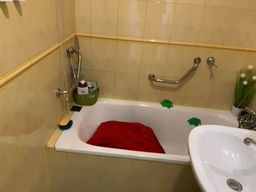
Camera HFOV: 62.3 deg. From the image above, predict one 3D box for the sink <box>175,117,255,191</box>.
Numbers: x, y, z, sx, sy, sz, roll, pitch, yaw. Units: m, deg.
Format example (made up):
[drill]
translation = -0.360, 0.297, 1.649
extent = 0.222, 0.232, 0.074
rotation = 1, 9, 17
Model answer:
[sink]
translation = 0.440, 0.300, 0.850
extent = 0.410, 0.130, 0.510
rotation = 6, 27, 1
